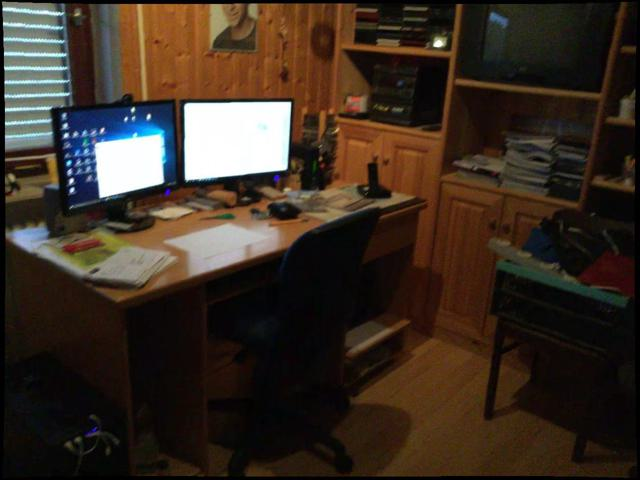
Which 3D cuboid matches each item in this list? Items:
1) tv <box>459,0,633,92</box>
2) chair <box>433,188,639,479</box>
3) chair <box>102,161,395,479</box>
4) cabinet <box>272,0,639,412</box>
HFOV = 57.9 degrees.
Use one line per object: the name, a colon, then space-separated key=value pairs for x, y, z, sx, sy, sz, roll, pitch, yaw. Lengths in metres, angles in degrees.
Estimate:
tv: x=0.929 y=-0.891 z=2.430 sx=0.630 sy=0.440 sz=0.200 roll=16 pitch=33 yaw=34
chair: x=0.939 y=0.330 z=2.400 sx=0.650 sy=0.791 sz=0.690 roll=18 pitch=35 yaw=36
chair: x=-0.180 y=0.330 z=2.030 sx=0.620 sy=0.961 sz=0.670 roll=16 pitch=33 yaw=34
cabinet: x=0.879 y=-0.601 z=2.740 sx=1.949 sy=2.112 sz=0.960 roll=16 pitch=33 yaw=34
